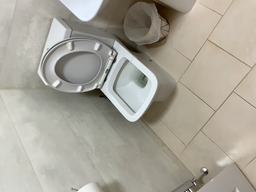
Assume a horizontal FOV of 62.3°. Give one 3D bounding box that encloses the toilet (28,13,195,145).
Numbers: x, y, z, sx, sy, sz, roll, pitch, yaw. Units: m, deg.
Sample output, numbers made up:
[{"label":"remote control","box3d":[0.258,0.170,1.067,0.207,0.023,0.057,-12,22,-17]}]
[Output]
[{"label":"toilet","box3d":[-0.080,-0.120,1.390,0.600,0.830,0.390,47,121,30]}]
